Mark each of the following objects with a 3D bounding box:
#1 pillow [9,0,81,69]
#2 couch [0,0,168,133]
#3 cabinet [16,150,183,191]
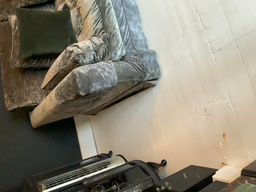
[{"bbox_3d":[-0.630,-0.500,1.680,0.200,0.440,0.400,-15,66,38],"label":"pillow"},{"bbox_3d":[-0.650,-0.810,1.890,1.250,0.820,1.940,-26,75,48],"label":"couch"},{"bbox_3d":[-0.280,0.740,1.670,1.090,0.840,0.310,-10,88,50],"label":"cabinet"}]
